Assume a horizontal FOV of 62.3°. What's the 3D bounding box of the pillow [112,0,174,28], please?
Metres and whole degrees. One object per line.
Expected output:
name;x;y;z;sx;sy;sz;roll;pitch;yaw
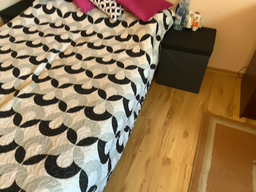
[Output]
pillow;0.130;-0.760;1.710;0.350;0.200;0.380;26;49;23

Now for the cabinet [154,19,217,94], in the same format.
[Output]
cabinet;0.510;-0.360;1.910;0.410;0.450;0.410;15;45;14
